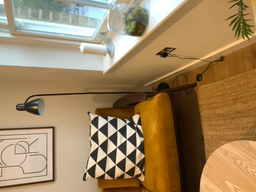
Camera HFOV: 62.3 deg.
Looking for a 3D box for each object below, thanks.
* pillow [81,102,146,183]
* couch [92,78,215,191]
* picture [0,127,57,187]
[{"bbox_3d":[-0.140,0.440,2.040,0.230,0.550,0.680,54,-149,-76],"label":"pillow"},{"bbox_3d":[0.180,0.840,1.950,0.910,0.730,1.790,155,113,-63],"label":"couch"},{"bbox_3d":[-1.030,0.550,1.940,0.030,0.710,0.490,160,109,-64],"label":"picture"}]
